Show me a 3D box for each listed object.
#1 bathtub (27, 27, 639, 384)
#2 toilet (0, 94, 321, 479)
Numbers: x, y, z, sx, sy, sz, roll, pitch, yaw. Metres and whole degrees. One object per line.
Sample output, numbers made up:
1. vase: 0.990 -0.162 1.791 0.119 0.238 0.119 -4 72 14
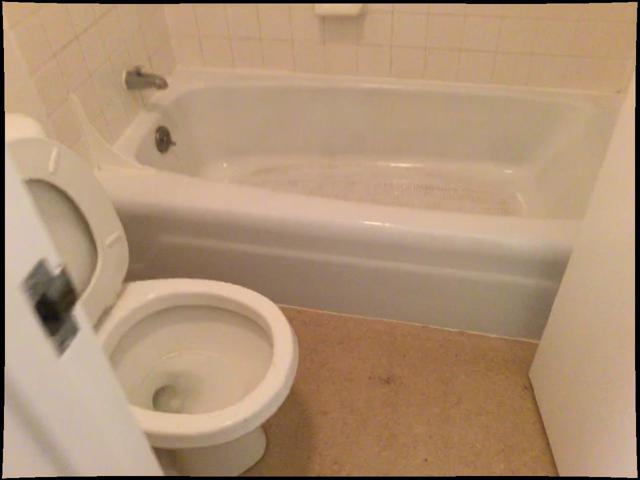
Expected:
1. bathtub: 0.120 -0.180 1.730 1.466 0.501 0.891 5 45 8
2. toilet: -0.289 0.190 1.140 0.489 0.811 0.410 5 45 9
